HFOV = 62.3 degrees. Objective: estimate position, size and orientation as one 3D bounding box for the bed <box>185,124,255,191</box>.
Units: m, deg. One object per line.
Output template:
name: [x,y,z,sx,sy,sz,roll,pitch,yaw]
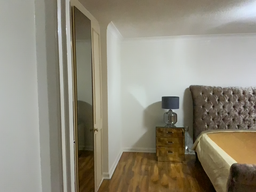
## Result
bed: [1.890,0.980,2.940,1.770,0.630,2.550,0,4,7]
